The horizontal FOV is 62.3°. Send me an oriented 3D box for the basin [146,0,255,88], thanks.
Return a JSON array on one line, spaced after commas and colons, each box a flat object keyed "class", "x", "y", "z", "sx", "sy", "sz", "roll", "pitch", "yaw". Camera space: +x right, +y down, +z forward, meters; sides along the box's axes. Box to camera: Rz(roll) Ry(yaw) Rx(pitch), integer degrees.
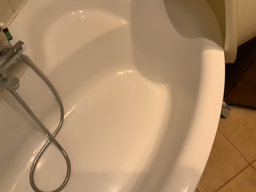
[{"class": "basin", "x": 0.350, "y": -0.430, "z": 0.790, "sx": 0.450, "sy": 0.680, "sz": 0.440, "roll": 9, "pitch": 60, "yaw": 4}]
